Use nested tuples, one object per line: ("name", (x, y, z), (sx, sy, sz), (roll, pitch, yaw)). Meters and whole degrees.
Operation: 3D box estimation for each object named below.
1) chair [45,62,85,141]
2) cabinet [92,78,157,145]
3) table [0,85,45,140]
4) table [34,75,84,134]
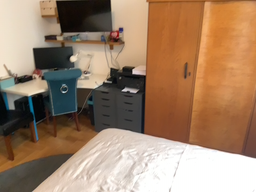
("chair", (-0.940, 0.050, 3.170), (0.410, 1.000, 0.560), (-8, 21, -24))
("cabinet", (-0.040, 0.190, 3.220), (0.770, 0.710, 0.620), (9, 21, 21))
("table", (-1.530, 0.230, 3.080), (0.540, 0.690, 0.190), (9, 21, 21))
("table", (-1.140, 0.100, 3.490), (0.600, 0.680, 0.700), (-10, 22, -26))
